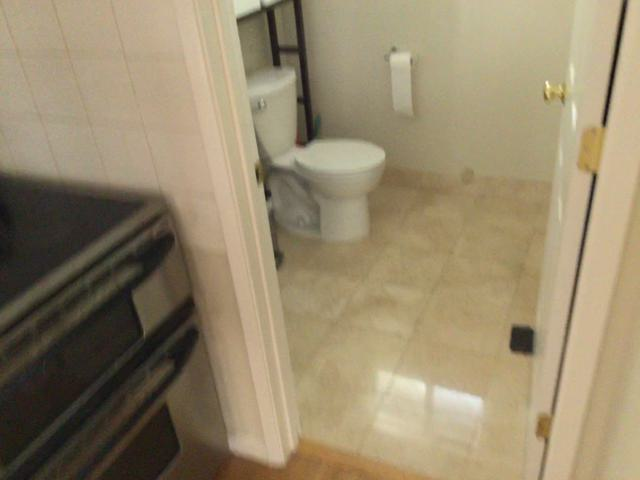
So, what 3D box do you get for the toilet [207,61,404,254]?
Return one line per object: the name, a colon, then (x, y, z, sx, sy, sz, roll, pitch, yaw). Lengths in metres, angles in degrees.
toilet: (-0.030, -0.410, 2.740, 0.730, 0.740, 0.450, 7, 34, 22)
